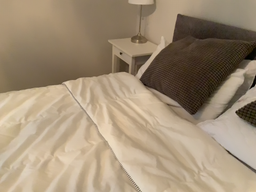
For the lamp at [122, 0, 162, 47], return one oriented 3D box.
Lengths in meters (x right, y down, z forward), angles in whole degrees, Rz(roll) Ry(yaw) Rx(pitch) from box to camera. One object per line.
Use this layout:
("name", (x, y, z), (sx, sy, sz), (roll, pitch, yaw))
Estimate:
("lamp", (0.120, -0.740, 1.890), (0.240, 0.520, 0.240), (-12, 33, -26))
